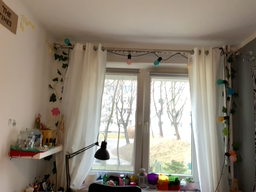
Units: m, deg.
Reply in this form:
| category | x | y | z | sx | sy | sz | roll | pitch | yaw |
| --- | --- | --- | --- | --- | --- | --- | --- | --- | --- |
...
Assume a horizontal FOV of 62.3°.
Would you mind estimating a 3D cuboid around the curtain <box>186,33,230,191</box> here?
| category | x | y | z | sx | sy | sz | roll | pitch | yaw |
| --- | --- | --- | --- | --- | --- | --- | --- | --- | --- |
| curtain | 0.890 | 0.190 | 2.390 | 0.390 | 1.760 | 0.270 | 2 | -8 | 6 |

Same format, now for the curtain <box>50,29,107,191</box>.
| category | x | y | z | sx | sy | sz | roll | pitch | yaw |
| --- | --- | --- | --- | --- | --- | --- | --- | --- | --- |
| curtain | -0.540 | 0.220 | 2.420 | 0.450 | 1.940 | 0.260 | 2 | -8 | 5 |

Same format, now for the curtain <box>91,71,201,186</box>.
| category | x | y | z | sx | sy | sz | roll | pitch | yaw |
| --- | --- | --- | --- | --- | --- | --- | --- | --- | --- |
| curtain | 0.260 | 0.410 | 2.950 | 1.400 | 1.440 | 0.290 | 2 | -8 | 4 |
